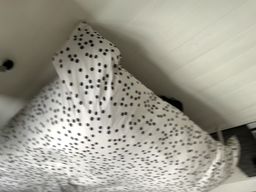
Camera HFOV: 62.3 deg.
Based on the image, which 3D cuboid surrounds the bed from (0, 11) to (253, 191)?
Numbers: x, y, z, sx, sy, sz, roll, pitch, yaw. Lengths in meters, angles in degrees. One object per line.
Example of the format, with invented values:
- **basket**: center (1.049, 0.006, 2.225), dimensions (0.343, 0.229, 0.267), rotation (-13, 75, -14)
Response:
- **bed**: center (-0.350, 0.600, 2.050), dimensions (2.200, 0.590, 1.710), rotation (-30, 135, 35)
